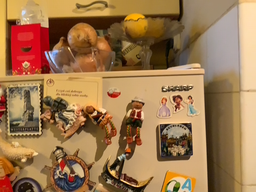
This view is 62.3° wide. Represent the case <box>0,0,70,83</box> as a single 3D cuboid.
[{"bbox_3d":[-0.290,-0.170,0.670,0.160,0.240,0.170,-1,0,1],"label":"case"}]
